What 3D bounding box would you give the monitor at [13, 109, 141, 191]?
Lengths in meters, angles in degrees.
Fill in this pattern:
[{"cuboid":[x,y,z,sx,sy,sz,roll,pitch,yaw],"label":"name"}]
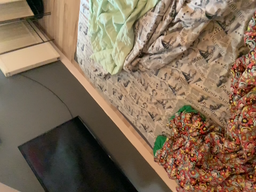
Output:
[{"cuboid":[-0.380,0.610,1.710,1.020,0.590,0.040,48,143,18],"label":"monitor"}]
